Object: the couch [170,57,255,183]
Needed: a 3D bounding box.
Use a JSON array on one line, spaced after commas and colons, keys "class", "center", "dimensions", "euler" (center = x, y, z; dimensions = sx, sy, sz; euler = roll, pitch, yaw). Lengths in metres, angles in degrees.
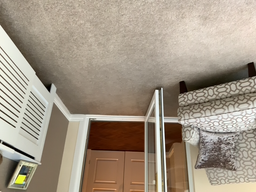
[{"class": "couch", "center": [0.980, 0.330, 2.100], "dimensions": [0.790, 0.900, 0.890], "euler": [-14, 149, 29]}]
